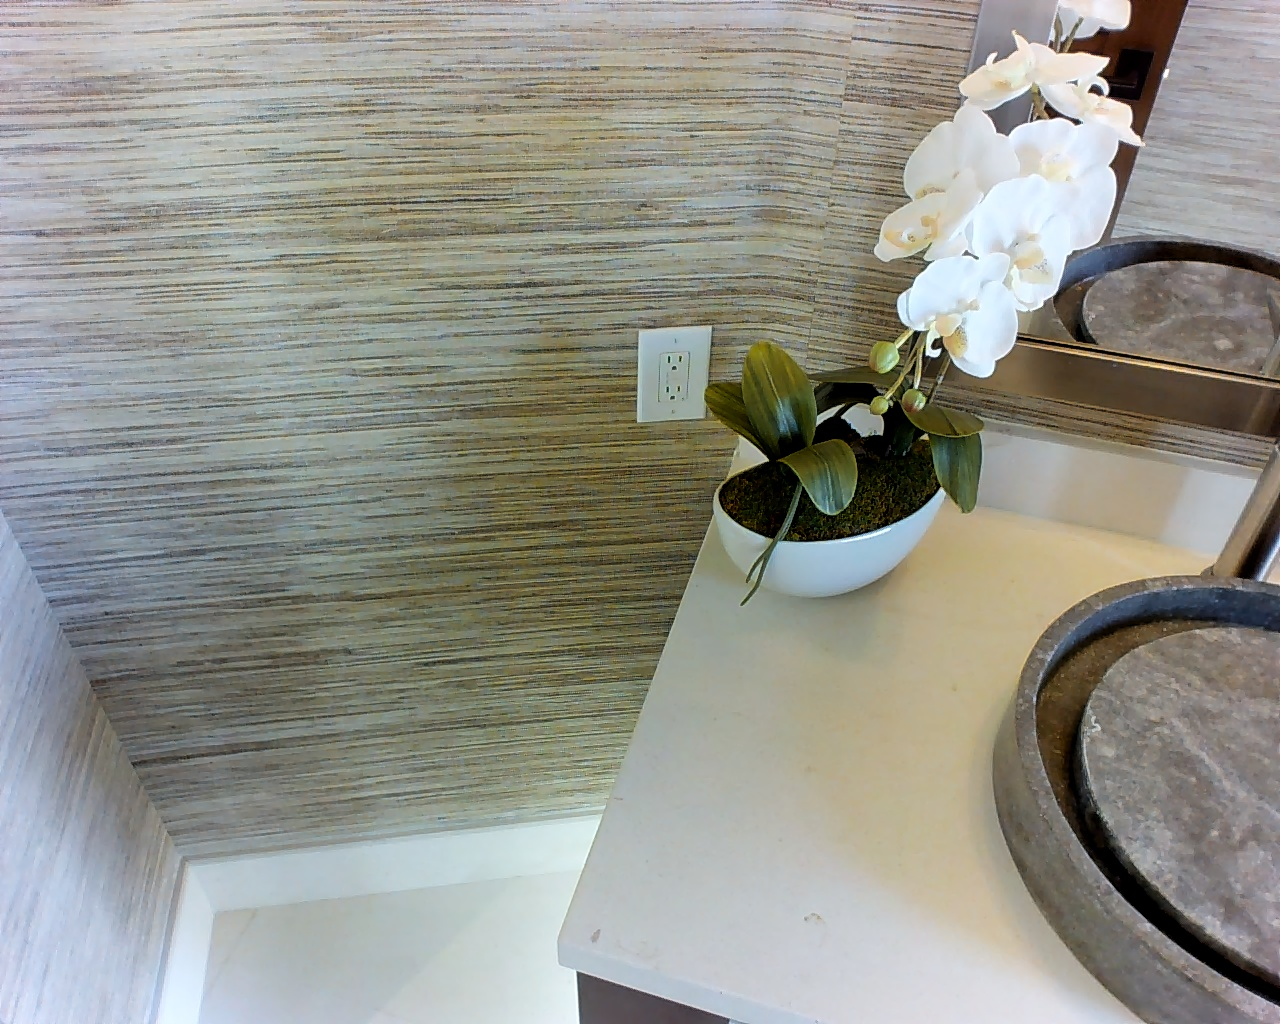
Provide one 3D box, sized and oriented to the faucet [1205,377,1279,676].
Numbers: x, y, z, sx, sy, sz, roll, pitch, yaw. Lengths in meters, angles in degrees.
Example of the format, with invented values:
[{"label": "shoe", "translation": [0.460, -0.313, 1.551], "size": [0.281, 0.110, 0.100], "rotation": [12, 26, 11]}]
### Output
[{"label": "faucet", "translation": [0.640, -0.030, 0.990], "size": [0.090, 0.330, 0.200], "rotation": [11, 43, 12]}]
